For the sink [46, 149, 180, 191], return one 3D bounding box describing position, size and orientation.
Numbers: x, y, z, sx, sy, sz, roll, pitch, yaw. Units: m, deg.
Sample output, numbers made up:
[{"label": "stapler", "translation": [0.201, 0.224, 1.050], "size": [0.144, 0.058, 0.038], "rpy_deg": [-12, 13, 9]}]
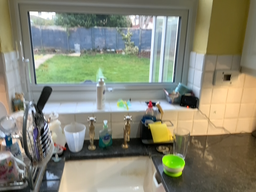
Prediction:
[{"label": "sink", "translation": [-0.080, 0.520, 1.070], "size": [0.580, 0.280, 0.430], "rpy_deg": [-1, 17, -8]}]
